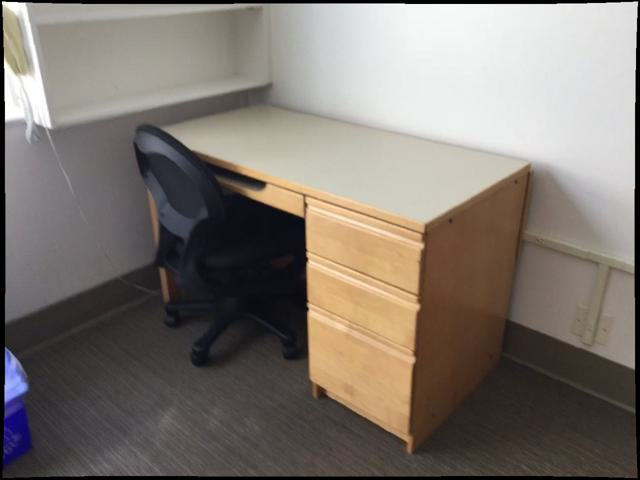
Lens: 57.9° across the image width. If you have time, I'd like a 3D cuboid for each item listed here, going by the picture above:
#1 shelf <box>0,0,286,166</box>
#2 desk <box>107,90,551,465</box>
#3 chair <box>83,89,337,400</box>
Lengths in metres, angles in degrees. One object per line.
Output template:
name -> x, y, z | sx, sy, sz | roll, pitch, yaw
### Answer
shelf -> -0.589, -1.201, 1.880 | 0.300, 1.671, 1.010 | 21, 34, 35
desk -> -0.030, -0.010, 2.120 | 1.369, 0.751, 0.690 | 21, 34, 35
chair -> -0.360, -0.030, 2.100 | 0.620, 0.841, 0.560 | 21, 34, 35
